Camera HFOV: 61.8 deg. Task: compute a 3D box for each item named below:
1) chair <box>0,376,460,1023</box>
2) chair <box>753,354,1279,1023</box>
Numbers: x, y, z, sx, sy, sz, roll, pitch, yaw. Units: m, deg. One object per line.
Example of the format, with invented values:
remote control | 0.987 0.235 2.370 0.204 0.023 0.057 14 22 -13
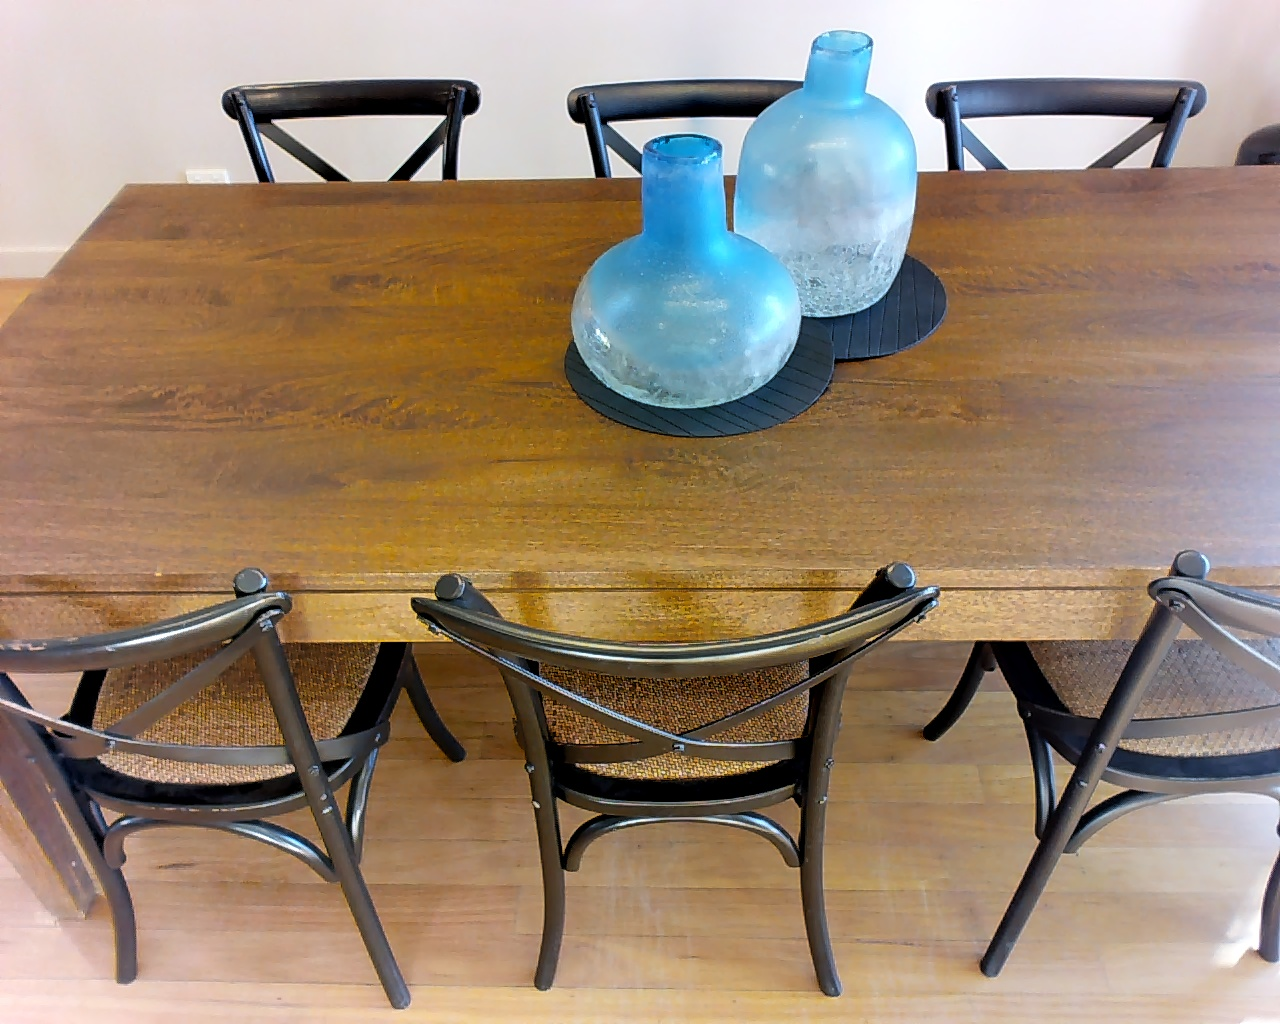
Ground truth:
chair | -0.540 0.310 1.390 0.430 0.790 0.550 0 41 2
chair | 0.450 0.290 1.380 0.530 0.790 0.570 0 41 1
